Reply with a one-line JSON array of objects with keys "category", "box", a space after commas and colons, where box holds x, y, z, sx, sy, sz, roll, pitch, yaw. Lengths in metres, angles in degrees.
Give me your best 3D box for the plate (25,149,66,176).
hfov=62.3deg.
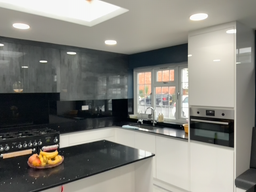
[{"category": "plate", "box": [-0.760, 0.600, 1.950, 0.280, 0.120, 0.270, -2, 2, -40]}]
